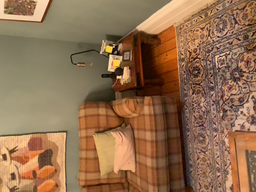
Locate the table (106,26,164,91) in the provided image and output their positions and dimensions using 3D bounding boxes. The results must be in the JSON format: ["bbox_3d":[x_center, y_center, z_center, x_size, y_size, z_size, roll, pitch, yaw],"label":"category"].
[{"bbox_3d":[0.060,-0.410,2.650,0.650,0.400,0.640,-9,83,60],"label":"table"}]

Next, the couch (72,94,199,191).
[{"bbox_3d":[0.020,0.980,2.270,1.100,0.880,1.900,-9,83,60],"label":"couch"}]
